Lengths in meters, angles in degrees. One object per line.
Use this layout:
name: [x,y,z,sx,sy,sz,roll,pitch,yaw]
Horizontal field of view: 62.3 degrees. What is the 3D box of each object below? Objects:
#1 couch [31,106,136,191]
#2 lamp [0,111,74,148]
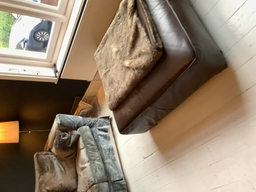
couch: [-0.590,1.140,2.510,1.210,0.810,1.650,-53,46,45]
lamp: [-1.570,0.480,3.010,0.350,1.470,0.370,-50,49,46]
